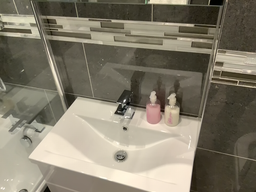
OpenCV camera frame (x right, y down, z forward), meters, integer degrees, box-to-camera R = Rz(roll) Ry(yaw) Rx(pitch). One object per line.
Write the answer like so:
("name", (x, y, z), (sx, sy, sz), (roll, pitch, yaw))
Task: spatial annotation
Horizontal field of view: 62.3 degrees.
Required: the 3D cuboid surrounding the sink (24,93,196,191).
("sink", (-0.050, 0.210, 0.950), (0.630, 0.140, 0.400), (10, 40, 17))
